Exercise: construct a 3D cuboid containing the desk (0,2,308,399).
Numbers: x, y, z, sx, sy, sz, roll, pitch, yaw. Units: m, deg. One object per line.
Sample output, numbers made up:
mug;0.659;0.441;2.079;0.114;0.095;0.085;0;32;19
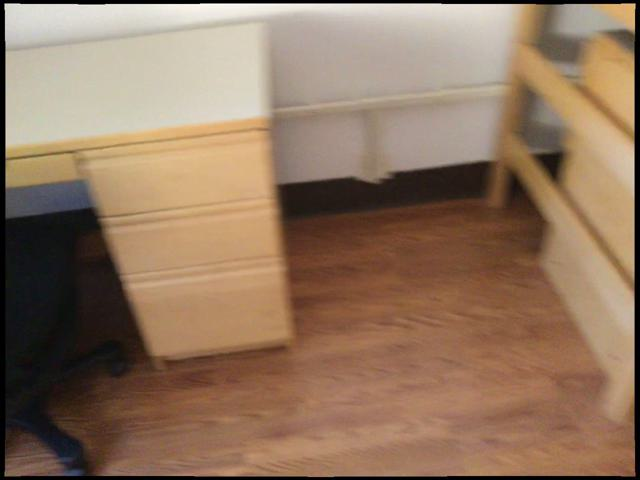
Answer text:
desk;-0.758;-0.110;1.710;1.347;0.771;0.791;-6;40;0
